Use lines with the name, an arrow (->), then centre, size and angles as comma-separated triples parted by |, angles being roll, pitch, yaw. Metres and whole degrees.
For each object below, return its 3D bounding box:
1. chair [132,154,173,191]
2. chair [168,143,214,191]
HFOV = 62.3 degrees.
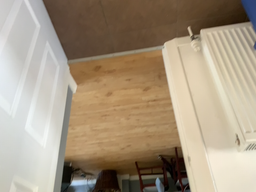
chair -> 0.420, 1.560, 3.570 | 0.590, 0.960, 0.510 | -6, 146, 3
chair -> 0.970, 1.310, 3.260 | 0.500, 0.950, 0.570 | -11, 145, 10
